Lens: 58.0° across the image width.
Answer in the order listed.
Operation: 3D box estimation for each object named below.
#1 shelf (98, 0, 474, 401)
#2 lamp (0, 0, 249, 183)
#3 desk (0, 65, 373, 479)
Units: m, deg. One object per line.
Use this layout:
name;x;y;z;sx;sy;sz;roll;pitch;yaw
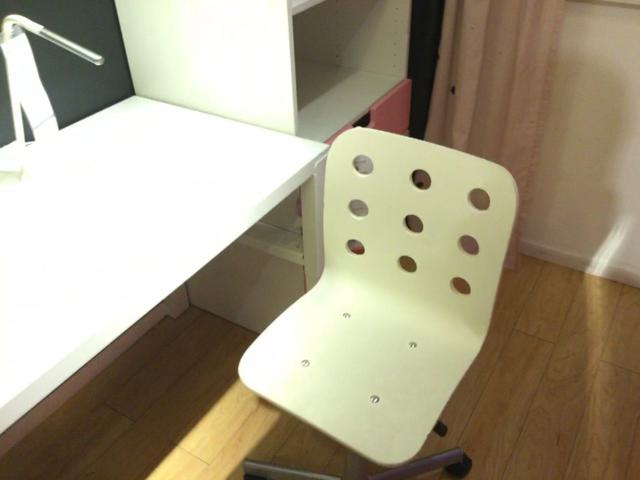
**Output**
shelf;-0.040;-0.650;1.420;0.600;1.940;0.770;17;38;29
lamp;-0.440;-0.370;1.170;0.410;0.300;0.380;17;38;29
desk;-0.420;0.180;1.260;0.640;0.770;1.050;17;38;29
